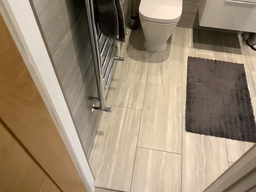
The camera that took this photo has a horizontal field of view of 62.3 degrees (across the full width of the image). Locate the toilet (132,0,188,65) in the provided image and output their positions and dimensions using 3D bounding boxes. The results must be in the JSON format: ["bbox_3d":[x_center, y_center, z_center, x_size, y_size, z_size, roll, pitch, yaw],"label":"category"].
[{"bbox_3d":[0.280,-0.790,1.830,0.360,0.800,0.600,9,52,5],"label":"toilet"}]
